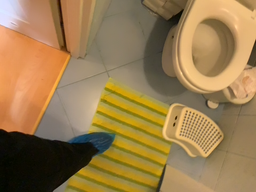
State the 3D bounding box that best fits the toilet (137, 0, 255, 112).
[{"bbox_3d":[0.460,-0.300,1.010,0.420,0.760,0.640,25,80,-12],"label":"toilet"}]
